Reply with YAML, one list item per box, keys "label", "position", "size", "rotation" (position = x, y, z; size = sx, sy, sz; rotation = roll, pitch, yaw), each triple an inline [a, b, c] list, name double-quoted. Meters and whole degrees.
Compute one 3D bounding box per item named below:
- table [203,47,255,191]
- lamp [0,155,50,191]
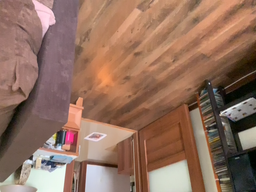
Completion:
- label: "table"
  position: [0.940, 0.170, 1.400]
  size: [0.240, 0.990, 0.640]
  rotation: [18, 144, -29]
- label: "lamp"
  position: [-0.820, 0.670, 1.640]
  size: [0.290, 0.320, 0.250]
  rotation: [20, 143, -32]
